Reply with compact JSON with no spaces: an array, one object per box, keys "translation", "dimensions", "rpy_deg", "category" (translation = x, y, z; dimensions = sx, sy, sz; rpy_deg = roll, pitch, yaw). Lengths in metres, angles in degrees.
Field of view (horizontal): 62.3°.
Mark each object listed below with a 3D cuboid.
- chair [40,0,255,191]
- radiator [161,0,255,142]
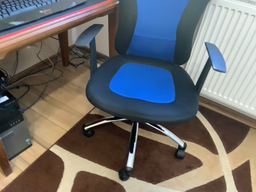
[{"translation":[0.120,-0.200,0.970],"dimensions":[0.650,1.140,0.700],"rpy_deg":[11,41,3],"category":"chair"},{"translation":[0.910,-0.050,1.180],"dimensions":[1.340,0.750,0.230],"rpy_deg":[27,44,21],"category":"radiator"}]
